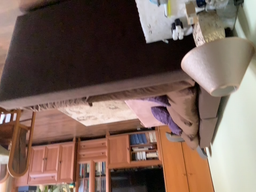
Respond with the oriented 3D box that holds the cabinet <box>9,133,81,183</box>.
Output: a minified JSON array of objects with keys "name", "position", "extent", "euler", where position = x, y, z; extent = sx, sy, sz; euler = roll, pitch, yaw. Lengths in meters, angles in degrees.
[{"name":"cabinet","position":[-1.920,1.480,4.990],"extent":[1.480,0.940,0.470],"euler":[-9,155,12]}]

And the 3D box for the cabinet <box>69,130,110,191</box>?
[{"name":"cabinet","position":[-0.810,1.780,4.560],"extent":[0.750,1.950,0.420],"euler":[-9,155,12]}]
